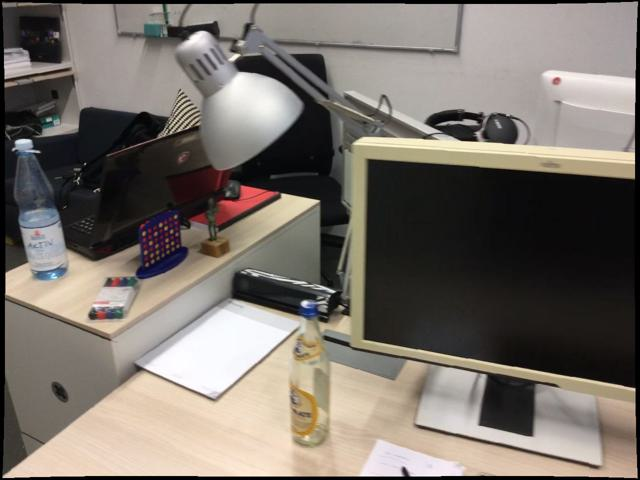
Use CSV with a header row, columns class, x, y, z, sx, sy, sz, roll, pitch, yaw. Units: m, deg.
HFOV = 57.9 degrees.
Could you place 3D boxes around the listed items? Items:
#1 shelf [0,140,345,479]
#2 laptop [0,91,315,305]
class,x,y,z,sx,sy,sz,roll,pitch,yaw
shelf,-0.360,0.310,1.610,0.550,0.901,0.950,10,27,21
laptop,-0.390,-0.160,1.490,0.530,0.300,0.550,16,30,32
